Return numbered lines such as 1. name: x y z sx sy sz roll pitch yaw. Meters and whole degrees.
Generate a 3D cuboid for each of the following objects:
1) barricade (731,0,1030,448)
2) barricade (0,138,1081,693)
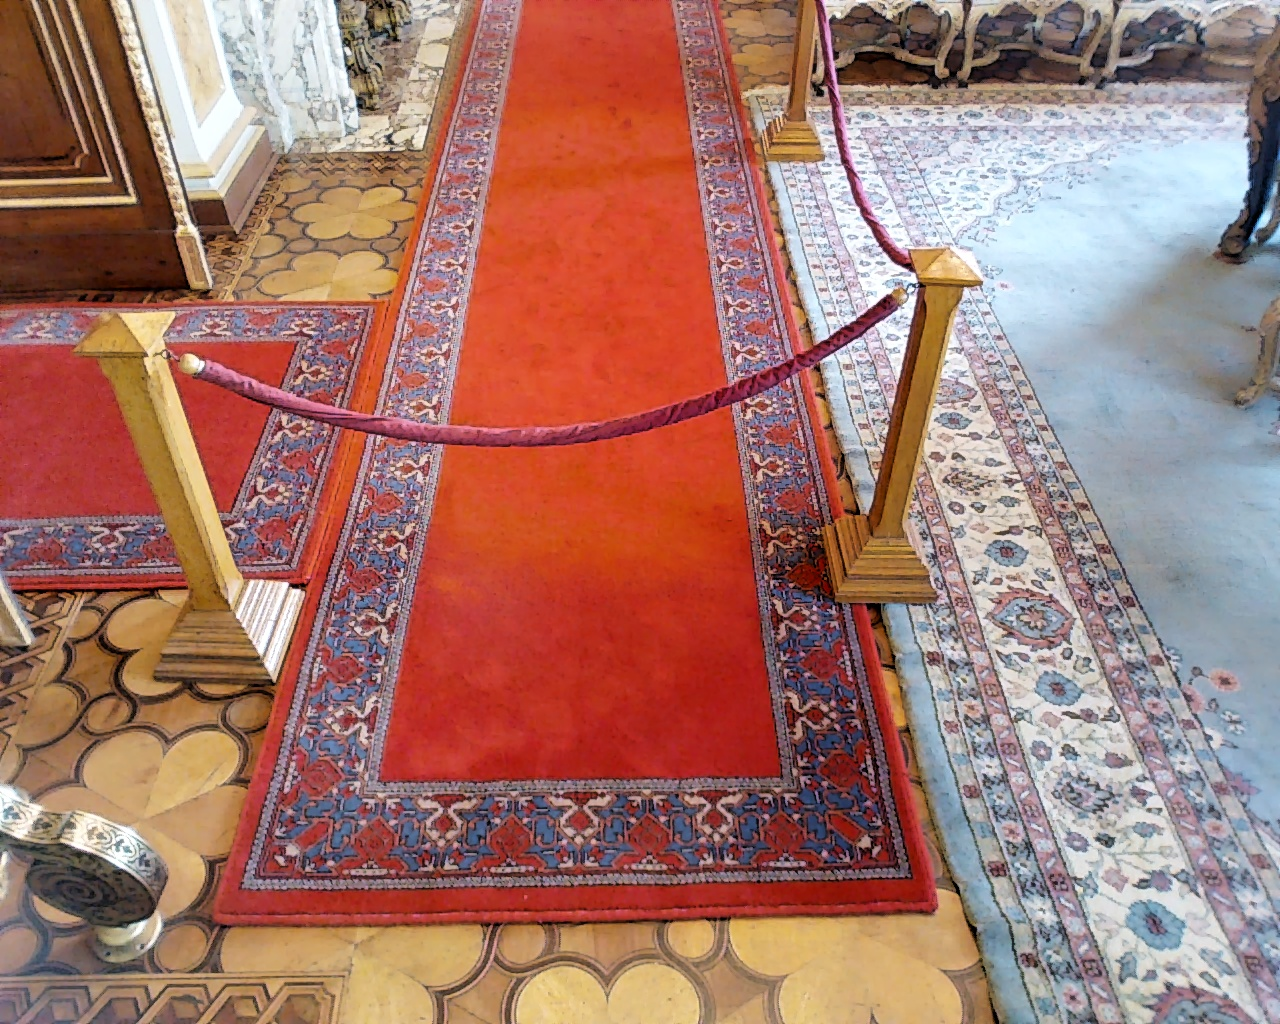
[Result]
1. barricade: 0.640 -1.911 4.140 0.240 0.810 4.311 -1 42 -1
2. barricade: -0.160 -0.210 2.230 1.680 0.810 0.800 -1 42 -1
